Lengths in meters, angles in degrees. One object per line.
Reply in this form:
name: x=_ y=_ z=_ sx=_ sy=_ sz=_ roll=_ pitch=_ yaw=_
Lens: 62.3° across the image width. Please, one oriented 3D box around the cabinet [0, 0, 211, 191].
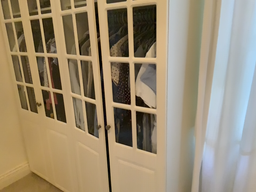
cabinet: x=-0.280 y=-0.220 z=1.560 sx=1.530 sy=2.190 sz=0.500 roll=10 pitch=21 yaw=35
